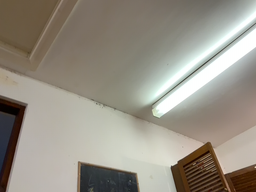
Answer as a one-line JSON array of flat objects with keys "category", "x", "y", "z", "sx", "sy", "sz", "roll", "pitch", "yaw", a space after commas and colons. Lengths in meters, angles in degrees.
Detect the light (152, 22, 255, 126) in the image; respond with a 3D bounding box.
[{"category": "light", "x": 0.810, "y": -0.320, "z": 1.470, "sx": 0.160, "sy": 0.100, "sz": 1.840, "roll": 19, "pitch": -48, "yaw": -29}]
